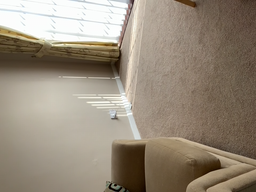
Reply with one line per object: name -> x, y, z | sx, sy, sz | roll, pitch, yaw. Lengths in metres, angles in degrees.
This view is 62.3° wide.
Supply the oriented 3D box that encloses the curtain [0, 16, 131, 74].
curtain -> -1.130, -0.640, 2.830 | 0.650, 2.290, 0.210 | 111, 149, -41
